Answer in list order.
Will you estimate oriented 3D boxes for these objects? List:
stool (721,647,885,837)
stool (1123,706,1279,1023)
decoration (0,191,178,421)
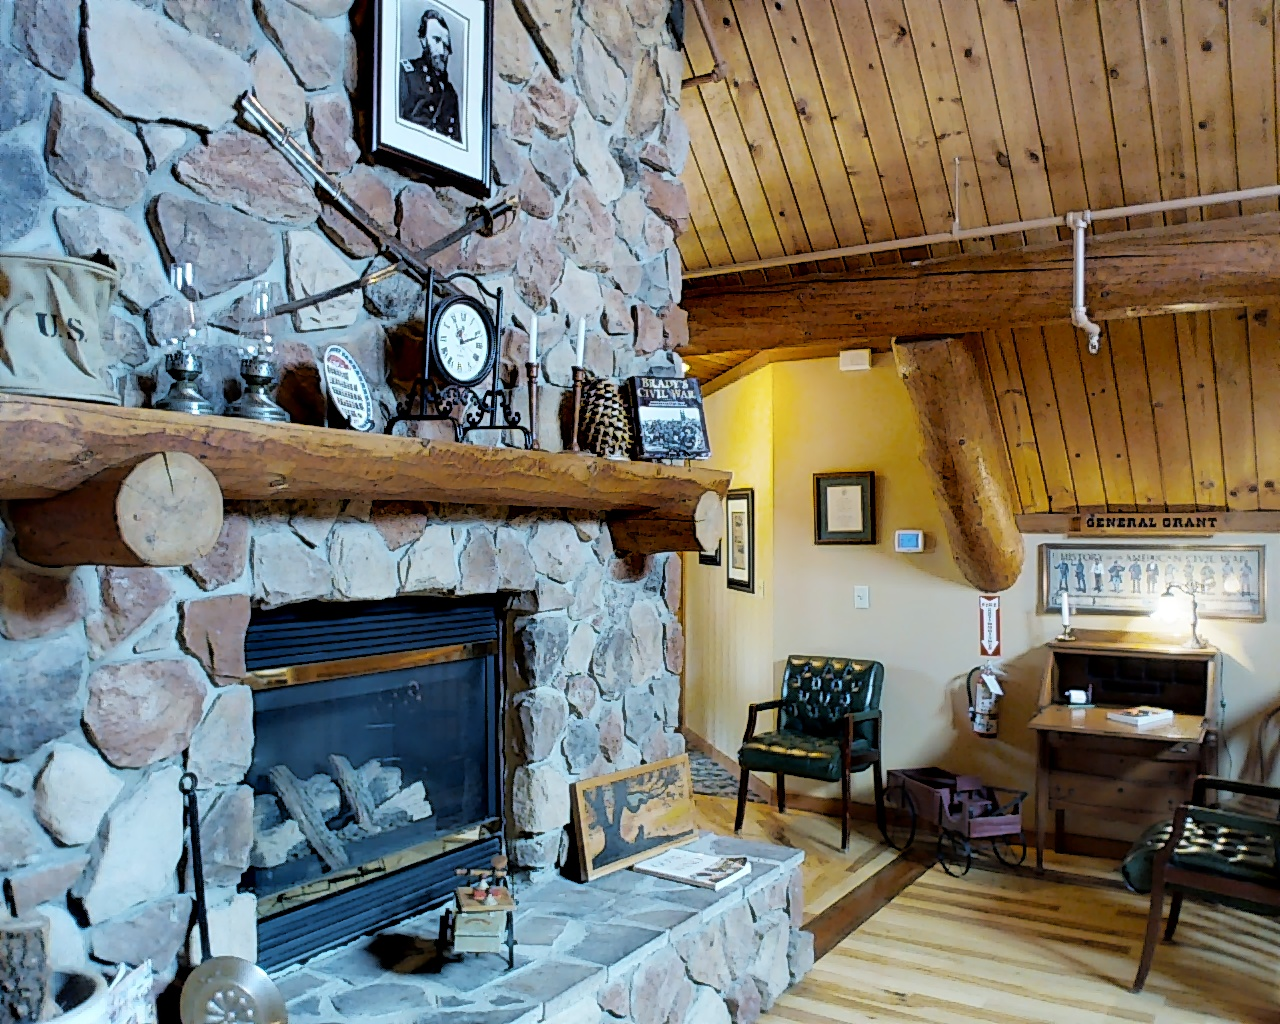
[{"bbox_3d":[0.860,1.160,5.630,0.630,0.810,0.650,0,-1,34],"label":"stool"},{"bbox_3d":[2.080,1.170,3.660,0.720,0.870,0.600,0,-1,32],"label":"stool"},{"bbox_3d":[-1.050,-0.340,1.880,0.290,0.320,0.340,0,-1,33],"label":"decoration"}]
